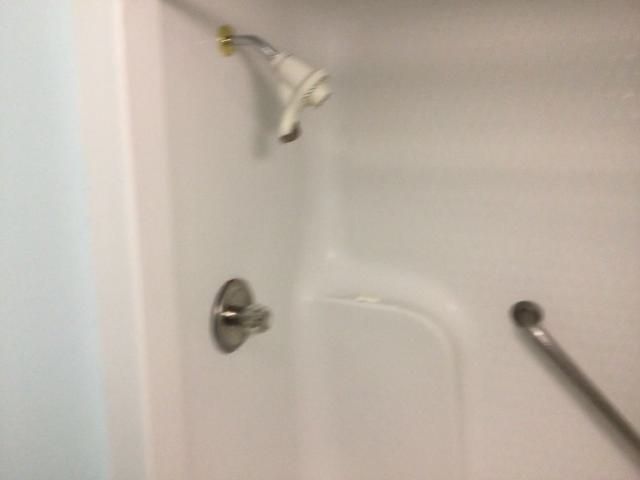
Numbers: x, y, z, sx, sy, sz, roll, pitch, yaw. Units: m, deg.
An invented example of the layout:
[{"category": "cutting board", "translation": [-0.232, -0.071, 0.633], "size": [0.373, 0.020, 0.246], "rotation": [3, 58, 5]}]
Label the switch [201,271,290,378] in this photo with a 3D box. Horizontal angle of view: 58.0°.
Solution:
[{"category": "switch", "translation": [-0.160, 0.180, 1.290], "size": [0.110, 0.170, 0.200], "rotation": [5, 12, 22]}]
